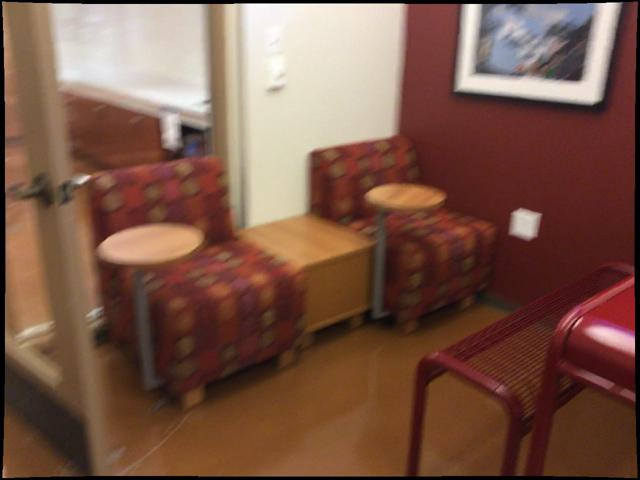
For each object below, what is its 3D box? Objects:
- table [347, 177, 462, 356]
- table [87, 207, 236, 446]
[{"bbox_3d":[0.360,0.100,2.570,0.320,0.661,0.360,-16,26,-35],"label":"table"},{"bbox_3d":[-0.559,0.290,2.080,0.340,0.701,0.350,-16,25,-35],"label":"table"}]
